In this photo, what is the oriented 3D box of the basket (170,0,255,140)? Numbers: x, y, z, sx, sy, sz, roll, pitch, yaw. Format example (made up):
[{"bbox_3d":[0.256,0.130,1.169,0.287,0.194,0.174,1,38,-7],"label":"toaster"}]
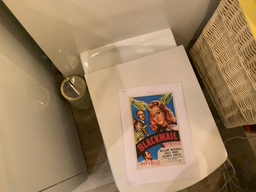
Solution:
[{"bbox_3d":[0.450,-0.100,0.810,0.310,0.680,0.430,-15,77,-5],"label":"basket"}]
